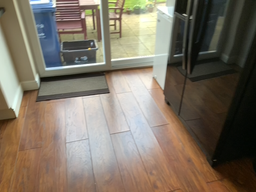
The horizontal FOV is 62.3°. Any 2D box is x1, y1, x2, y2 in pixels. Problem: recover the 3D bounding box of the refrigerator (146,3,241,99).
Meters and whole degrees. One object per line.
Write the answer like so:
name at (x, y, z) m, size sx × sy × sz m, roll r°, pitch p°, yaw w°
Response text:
refrigerator at (0.650, -0.520, 2.390) m, size 0.680 × 0.840 × 0.580 m, roll -9°, pitch 36°, yaw -14°
